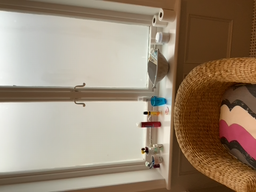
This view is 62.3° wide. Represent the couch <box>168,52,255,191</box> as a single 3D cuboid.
[{"bbox_3d":[0.810,0.150,1.410,0.760,0.750,0.780,-158,69,-71],"label":"couch"}]
